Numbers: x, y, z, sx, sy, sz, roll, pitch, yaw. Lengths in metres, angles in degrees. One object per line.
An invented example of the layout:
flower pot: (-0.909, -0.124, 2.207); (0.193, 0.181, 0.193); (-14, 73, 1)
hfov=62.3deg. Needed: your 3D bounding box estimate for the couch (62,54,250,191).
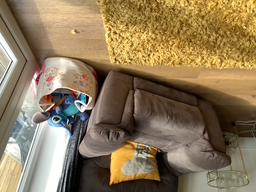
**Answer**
couch: (0.140, 0.470, 1.860); (1.140, 0.960, 0.970); (15, 144, -16)
